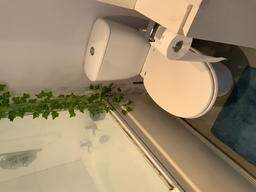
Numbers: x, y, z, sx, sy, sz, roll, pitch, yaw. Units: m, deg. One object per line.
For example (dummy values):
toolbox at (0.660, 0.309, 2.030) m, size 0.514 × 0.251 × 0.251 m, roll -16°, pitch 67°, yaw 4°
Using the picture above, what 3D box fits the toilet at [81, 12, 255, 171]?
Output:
toilet at (0.250, -0.080, 1.250) m, size 0.690 × 0.740 × 0.450 m, roll 47°, pitch 127°, yaw 37°
